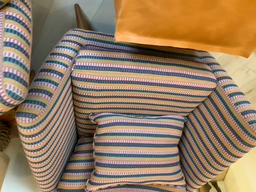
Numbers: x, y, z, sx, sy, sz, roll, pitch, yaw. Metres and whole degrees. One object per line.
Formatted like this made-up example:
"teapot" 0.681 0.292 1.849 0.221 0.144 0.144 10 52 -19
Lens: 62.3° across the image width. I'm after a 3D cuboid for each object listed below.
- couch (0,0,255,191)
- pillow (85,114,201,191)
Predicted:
"couch" -0.020 0.160 1.090 0.890 0.790 0.830 6 141 -13
"pillow" 0.030 0.240 0.980 0.440 0.350 0.180 2 109 -12
